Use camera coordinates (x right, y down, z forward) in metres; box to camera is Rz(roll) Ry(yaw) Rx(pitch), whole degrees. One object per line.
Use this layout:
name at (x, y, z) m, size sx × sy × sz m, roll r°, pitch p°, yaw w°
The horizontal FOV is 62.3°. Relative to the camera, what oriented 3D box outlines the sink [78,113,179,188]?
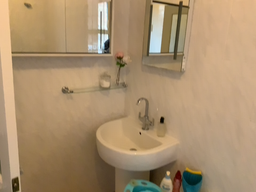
sink at (-0.030, 0.360, 1.660) m, size 0.470 × 0.180 × 0.670 m, roll -9°, pitch 20°, yaw -37°
